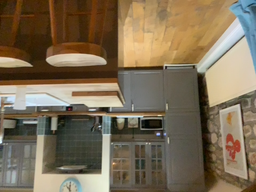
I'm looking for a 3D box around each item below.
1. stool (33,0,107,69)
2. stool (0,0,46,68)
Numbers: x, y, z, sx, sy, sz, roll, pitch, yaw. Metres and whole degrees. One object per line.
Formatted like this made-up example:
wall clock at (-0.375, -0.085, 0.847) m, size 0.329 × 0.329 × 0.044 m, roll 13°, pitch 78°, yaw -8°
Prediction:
stool at (-0.370, -0.640, 1.520) m, size 0.380 × 0.800 × 0.400 m, roll -1°, pitch 170°, yaw 2°
stool at (-0.860, -0.640, 1.490) m, size 0.400 × 0.800 × 0.380 m, roll -1°, pitch 170°, yaw 2°
